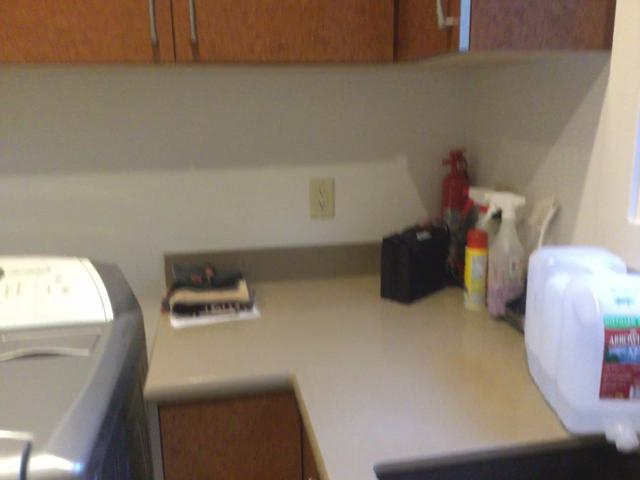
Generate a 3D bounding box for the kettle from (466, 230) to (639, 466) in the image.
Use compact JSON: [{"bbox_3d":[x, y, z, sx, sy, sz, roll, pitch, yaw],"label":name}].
[{"bbox_3d":[0.480,0.150,1.010,0.280,0.250,0.400,-2,13,-11],"label":"kettle"}]
